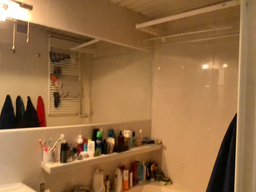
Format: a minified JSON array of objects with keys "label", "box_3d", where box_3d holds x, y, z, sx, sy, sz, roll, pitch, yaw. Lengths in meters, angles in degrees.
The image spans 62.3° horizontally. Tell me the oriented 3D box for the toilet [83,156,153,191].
[{"label":"toilet","box_3d":[-0.070,0.780,2.140,0.760,0.180,0.180,2,1,-42]}]
